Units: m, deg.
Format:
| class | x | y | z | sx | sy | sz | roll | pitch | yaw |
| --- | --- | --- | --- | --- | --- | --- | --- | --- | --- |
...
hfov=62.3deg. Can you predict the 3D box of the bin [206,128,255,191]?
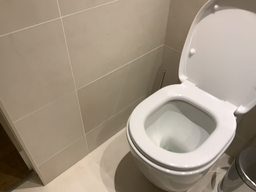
| class | x | y | z | sx | sy | sz | roll | pitch | yaw |
| --- | --- | --- | --- | --- | --- | --- | --- | --- | --- |
| bin | 0.580 | 0.370 | 0.970 | 0.220 | 0.260 | 0.290 | -32 | 53 | -30 |
